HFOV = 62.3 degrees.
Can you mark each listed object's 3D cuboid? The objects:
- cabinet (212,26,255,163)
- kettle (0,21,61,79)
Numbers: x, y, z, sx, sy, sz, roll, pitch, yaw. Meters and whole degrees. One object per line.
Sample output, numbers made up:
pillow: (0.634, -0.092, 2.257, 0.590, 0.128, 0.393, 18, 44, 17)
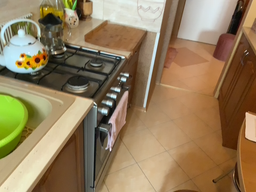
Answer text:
cabinet: (1.120, -0.060, 1.930, 0.340, 0.850, 0.930, 14, 35, 8)
kettle: (-0.480, -0.230, 1.010, 0.190, 0.150, 0.270, 15, 35, 10)
